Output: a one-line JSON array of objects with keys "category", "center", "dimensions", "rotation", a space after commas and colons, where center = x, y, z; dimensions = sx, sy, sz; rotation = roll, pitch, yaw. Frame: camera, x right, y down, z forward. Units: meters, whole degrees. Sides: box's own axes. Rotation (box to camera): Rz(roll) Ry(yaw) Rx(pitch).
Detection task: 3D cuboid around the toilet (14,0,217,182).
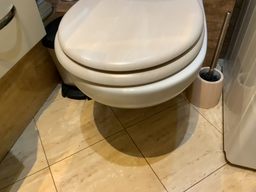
[{"category": "toilet", "center": [0.030, -0.100, 0.700], "dimensions": [0.370, 0.430, 0.520], "rotation": [9, 46, 11]}]
